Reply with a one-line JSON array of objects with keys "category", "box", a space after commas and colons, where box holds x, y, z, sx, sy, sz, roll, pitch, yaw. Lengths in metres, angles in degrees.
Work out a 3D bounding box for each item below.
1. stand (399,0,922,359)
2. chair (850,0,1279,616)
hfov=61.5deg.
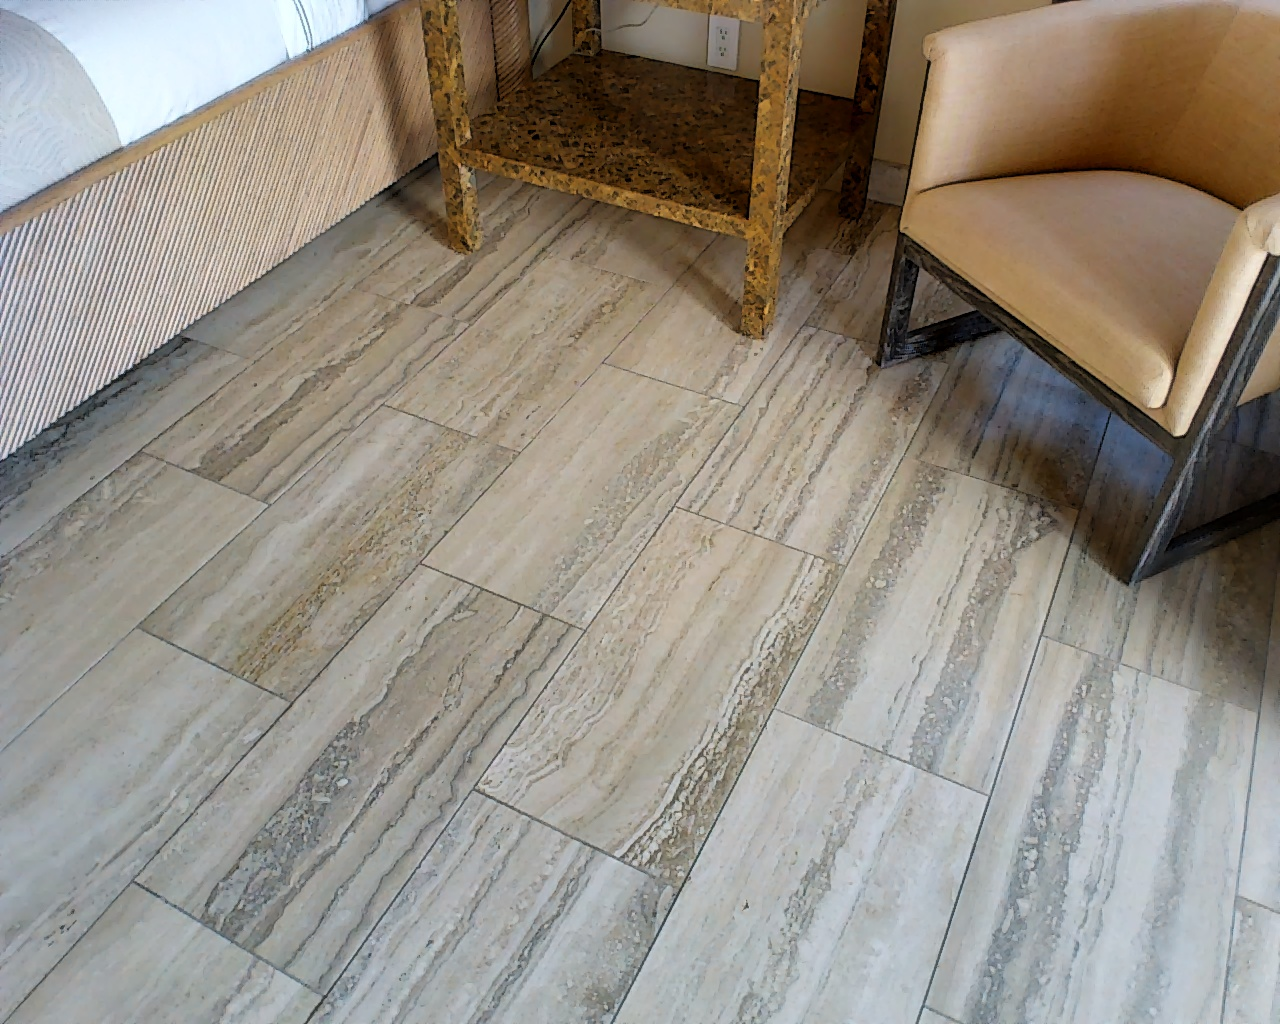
[{"category": "stand", "box": [0.070, -0.880, 2.290, 0.820, 0.640, 0.700, 19, 47, 20]}, {"category": "chair", "box": [0.930, -0.420, 1.780, 0.800, 0.640, 0.730, -18, 46, -18]}]
